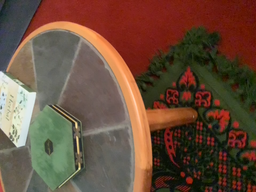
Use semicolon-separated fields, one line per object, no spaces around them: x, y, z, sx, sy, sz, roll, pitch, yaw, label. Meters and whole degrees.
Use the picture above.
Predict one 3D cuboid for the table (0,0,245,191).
-0.220;0.160;0.880;0.830;0.410;0.860;-48;64;26;table
